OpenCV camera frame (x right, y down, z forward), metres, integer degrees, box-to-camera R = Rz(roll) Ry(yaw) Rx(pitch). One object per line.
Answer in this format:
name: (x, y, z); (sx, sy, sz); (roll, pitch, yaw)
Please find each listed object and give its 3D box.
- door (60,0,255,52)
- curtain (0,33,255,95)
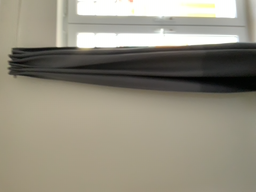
door: (0.350, -0.940, 2.340); (0.050, 2.140, 0.910); (128, 141, -82)
curtain: (0.190, -0.280, 1.900); (0.270, 2.490, 0.460); (128, 141, -82)
